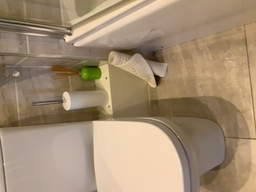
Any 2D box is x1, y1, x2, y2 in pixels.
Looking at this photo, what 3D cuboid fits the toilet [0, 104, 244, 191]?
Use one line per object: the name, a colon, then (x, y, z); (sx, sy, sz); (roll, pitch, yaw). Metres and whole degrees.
toilet: (-0.040, 0.270, 0.860); (0.640, 0.830, 0.380); (-5, 90, 47)
